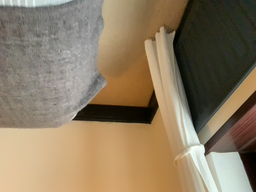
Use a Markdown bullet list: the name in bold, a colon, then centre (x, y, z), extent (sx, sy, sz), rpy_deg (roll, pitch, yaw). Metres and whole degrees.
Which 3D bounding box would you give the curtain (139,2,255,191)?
- **curtain**: centre (0.290, 0.630, 0.580), extent (0.190, 2.460, 0.450), rpy_deg (4, 143, -11)
